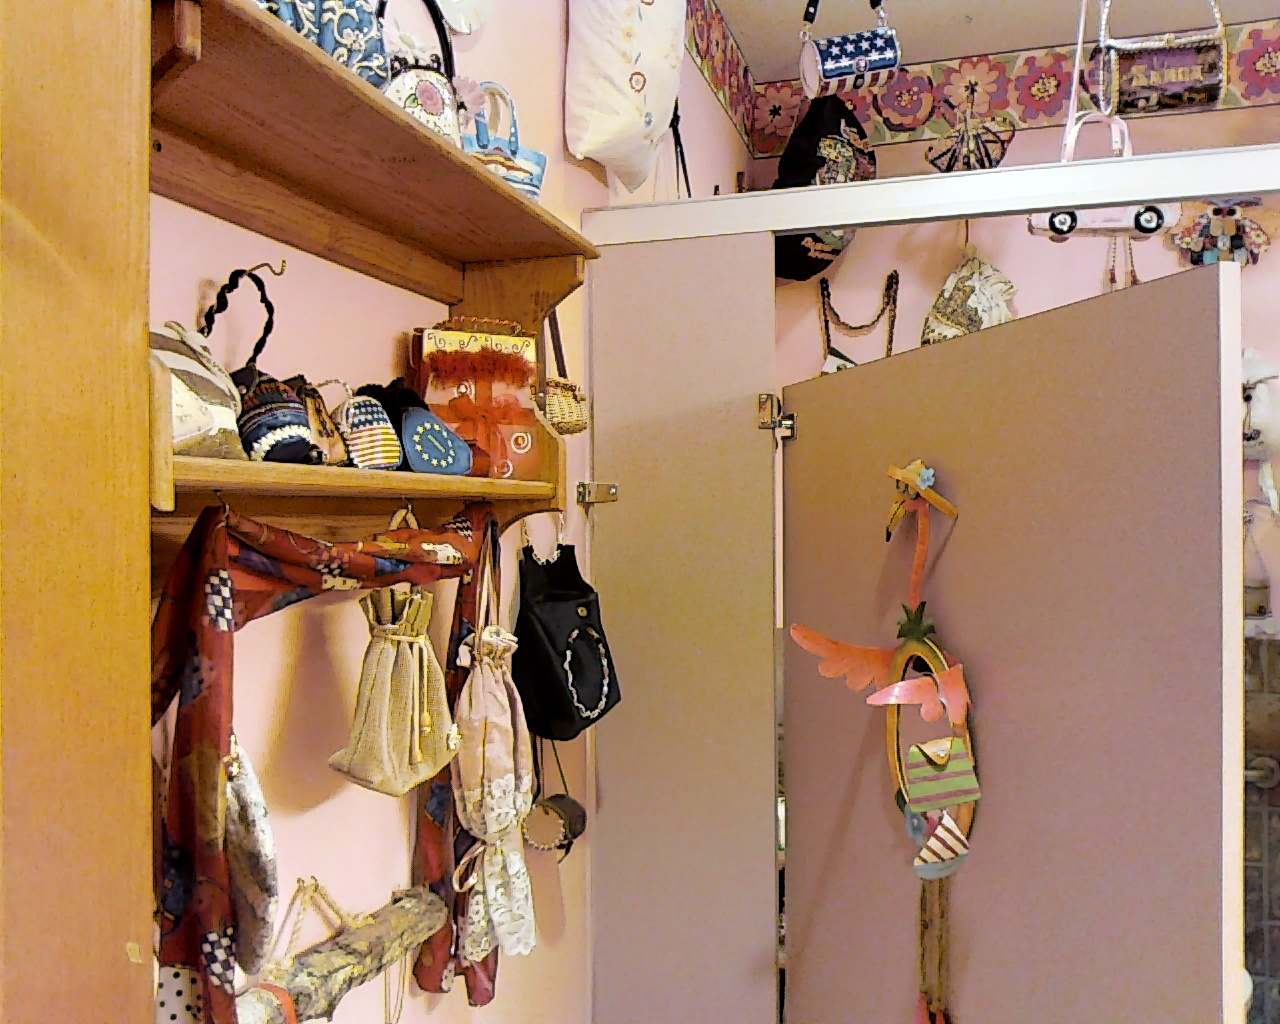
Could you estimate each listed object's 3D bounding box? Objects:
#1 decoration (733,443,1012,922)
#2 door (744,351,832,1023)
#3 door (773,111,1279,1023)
[{"bbox_3d":[0.270,0.180,1.390,0.140,0.500,0.510,0,-1,-14],"label":"decoration"},{"bbox_3d":[0.240,0.510,1.730,0.130,1.520,0.100,0,-1,11],"label":"door"},{"bbox_3d":[0.400,0.510,1.280,0.100,1.620,0.950,0,-1,-17],"label":"door"}]
